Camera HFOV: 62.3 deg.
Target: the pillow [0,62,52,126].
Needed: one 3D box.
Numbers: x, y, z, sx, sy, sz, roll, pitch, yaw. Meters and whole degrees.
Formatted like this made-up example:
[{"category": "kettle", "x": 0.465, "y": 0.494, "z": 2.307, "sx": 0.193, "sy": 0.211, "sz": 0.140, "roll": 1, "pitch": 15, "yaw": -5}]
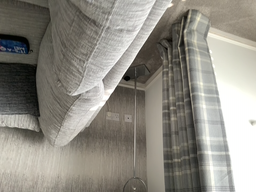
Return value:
[{"category": "pillow", "x": -0.790, "y": -0.020, "z": 1.350, "sx": 0.480, "sy": 0.320, "sz": 0.190, "roll": 18, "pitch": 159, "yaw": -31}]
